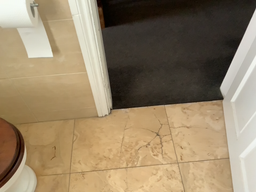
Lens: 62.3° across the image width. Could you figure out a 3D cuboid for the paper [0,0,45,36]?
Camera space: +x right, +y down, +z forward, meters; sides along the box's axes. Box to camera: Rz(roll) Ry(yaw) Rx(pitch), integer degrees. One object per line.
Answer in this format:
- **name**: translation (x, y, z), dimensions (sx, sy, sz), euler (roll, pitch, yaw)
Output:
- **paper**: translation (-0.390, -0.300, 0.750), dimensions (0.130, 0.120, 0.110), euler (-2, 51, 1)
